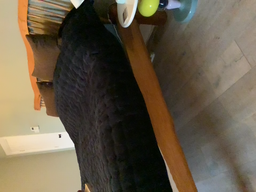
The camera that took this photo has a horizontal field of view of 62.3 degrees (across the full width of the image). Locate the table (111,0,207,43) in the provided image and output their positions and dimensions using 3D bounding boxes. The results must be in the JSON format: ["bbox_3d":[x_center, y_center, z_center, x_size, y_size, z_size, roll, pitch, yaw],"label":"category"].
[{"bbox_3d":[0.220,-0.780,1.770,0.430,0.570,0.450,118,144,-53],"label":"table"}]
